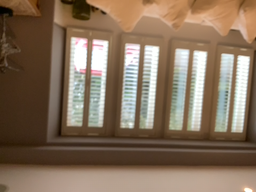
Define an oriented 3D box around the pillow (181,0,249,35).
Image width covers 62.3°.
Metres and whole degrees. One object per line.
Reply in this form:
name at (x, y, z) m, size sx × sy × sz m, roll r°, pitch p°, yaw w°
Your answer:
pillow at (0.770, -0.830, 1.830) m, size 0.430 × 0.510 × 0.210 m, roll 2°, pitch -141°, yaw -11°
